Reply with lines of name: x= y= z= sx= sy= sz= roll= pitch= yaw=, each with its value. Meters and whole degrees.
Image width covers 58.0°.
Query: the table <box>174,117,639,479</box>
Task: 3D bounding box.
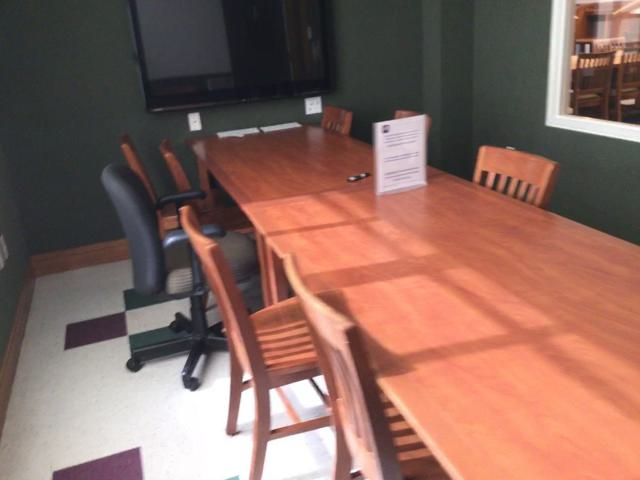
table: x=0.240 y=0.180 z=2.260 sx=1.070 sy=0.800 sz=3.140 roll=-13 pitch=22 yaw=-17

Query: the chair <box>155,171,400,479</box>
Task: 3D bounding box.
chair: x=-0.140 y=0.300 z=1.950 sx=0.590 sy=0.880 sz=0.530 roll=-13 pitch=22 yaw=-17

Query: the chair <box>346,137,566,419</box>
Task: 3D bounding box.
chair: x=0.520 y=0.110 z=2.290 sx=0.600 sy=0.870 sz=0.530 roll=-13 pitch=22 yaw=-17

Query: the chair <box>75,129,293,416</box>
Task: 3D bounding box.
chair: x=-0.600 y=0.080 z=2.540 sx=0.660 sy=0.940 sz=0.730 roll=-13 pitch=22 yaw=-17

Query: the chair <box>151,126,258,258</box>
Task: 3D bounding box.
chair: x=-0.600 y=-0.270 z=2.980 sx=0.380 sy=0.520 sz=0.480 roll=-13 pitch=22 yaw=-17
